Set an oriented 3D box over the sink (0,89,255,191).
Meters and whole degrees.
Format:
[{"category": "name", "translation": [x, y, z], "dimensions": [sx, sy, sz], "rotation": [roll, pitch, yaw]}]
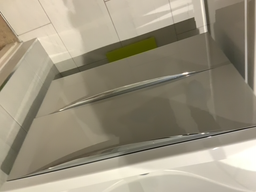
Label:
[{"category": "sink", "translation": [0.040, 0.280, 0.730], "dimensions": [0.830, 0.140, 0.400], "rotation": [-16, 128, 11]}]
